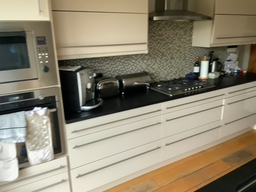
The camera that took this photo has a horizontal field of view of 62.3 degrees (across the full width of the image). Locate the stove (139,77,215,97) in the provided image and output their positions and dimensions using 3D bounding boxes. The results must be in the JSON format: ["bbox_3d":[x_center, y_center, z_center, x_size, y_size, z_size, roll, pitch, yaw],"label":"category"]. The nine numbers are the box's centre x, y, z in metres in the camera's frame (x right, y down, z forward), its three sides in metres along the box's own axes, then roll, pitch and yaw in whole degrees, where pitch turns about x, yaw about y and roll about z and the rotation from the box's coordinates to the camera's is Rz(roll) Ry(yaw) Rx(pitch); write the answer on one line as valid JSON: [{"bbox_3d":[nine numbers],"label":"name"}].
[{"bbox_3d":[0.600,-0.130,2.630,0.740,0.030,0.550,-10,20,-28],"label":"stove"}]
